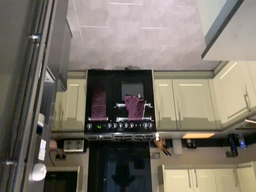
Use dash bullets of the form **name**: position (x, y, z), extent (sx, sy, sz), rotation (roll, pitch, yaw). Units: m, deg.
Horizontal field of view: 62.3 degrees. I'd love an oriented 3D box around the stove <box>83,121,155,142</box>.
- **stove**: position (-0.120, 0.500, 2.920), extent (0.900, 0.160, 0.570), rotation (0, 159, -2)
